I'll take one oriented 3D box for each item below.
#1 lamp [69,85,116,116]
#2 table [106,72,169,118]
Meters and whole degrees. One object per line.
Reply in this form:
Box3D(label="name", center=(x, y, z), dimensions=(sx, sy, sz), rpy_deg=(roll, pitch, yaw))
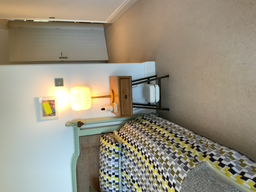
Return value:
Box3D(label="lamp", center=(-0.390, 0.040, 2.290), dimensions=(0.260, 0.440, 0.280), rpy_deg=(-171, 77, -70))
Box3D(label="table", center=(0.100, -0.030, 2.400), dimensions=(0.400, 0.590, 0.440), rpy_deg=(-168, 74, -70))
